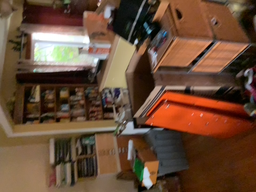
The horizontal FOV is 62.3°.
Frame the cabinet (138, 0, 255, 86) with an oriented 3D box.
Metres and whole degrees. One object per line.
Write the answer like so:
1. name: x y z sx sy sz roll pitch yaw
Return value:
1. cabinet: 0.580 -0.380 1.600 0.560 0.820 0.370 122 143 -58
